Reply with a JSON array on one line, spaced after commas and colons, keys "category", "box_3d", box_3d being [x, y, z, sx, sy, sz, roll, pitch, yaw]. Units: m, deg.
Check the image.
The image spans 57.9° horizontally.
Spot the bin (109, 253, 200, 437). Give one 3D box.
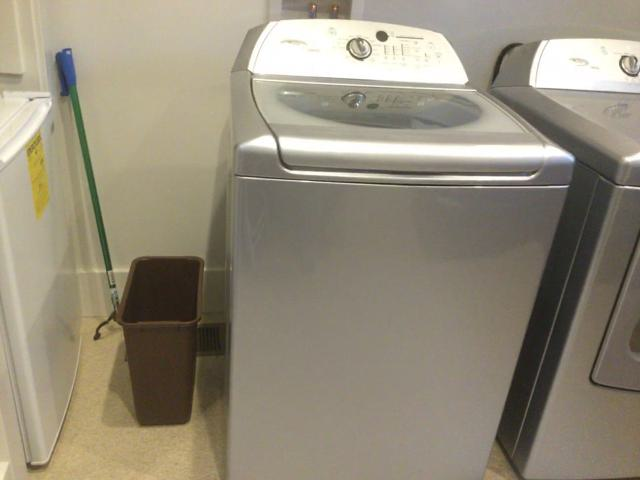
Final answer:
[{"category": "bin", "box_3d": [-0.460, 0.290, 1.680, 0.210, 0.370, 0.370, 0, 27, -11]}]

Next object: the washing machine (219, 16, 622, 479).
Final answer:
[{"category": "washing machine", "box_3d": [0.090, 0.060, 1.510, 0.680, 1.090, 0.720, 0, 27, -11]}]
